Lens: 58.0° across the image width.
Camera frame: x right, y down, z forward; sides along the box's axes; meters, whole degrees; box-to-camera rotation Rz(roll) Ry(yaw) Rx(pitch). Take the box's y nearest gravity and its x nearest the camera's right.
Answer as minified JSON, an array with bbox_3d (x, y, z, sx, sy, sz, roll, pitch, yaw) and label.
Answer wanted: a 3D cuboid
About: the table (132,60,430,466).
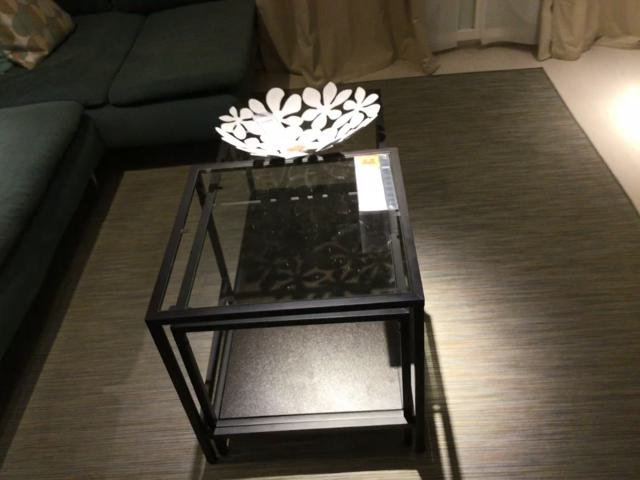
[{"bbox_3d":[-0.030,0.000,1.520,0.510,0.540,0.940,-5,39,6],"label":"table"}]
